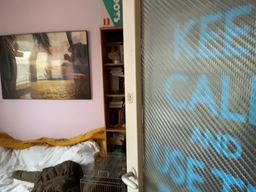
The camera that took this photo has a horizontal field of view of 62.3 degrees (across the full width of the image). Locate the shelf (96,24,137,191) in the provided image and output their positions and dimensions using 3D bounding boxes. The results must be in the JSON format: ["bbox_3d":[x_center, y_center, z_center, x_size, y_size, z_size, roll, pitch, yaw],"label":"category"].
[{"bbox_3d":[-0.100,0.210,2.340,0.340,1.860,0.330,0,9,10],"label":"shelf"}]
